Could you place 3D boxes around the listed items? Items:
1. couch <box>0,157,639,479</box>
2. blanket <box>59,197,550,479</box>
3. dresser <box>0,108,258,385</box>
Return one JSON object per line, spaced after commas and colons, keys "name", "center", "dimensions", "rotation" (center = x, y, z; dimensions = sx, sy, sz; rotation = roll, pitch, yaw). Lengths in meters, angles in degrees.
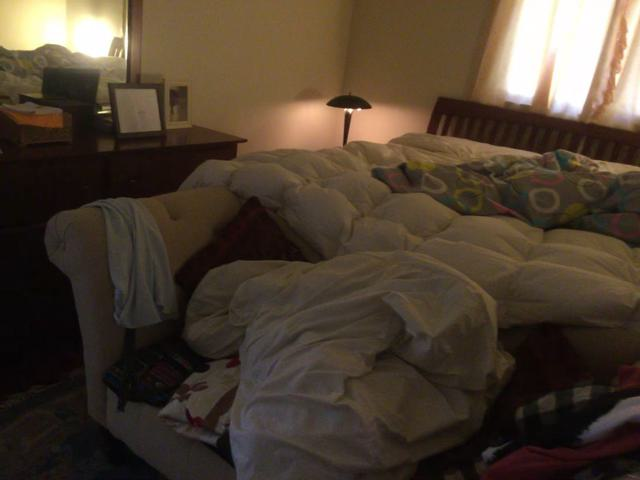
{"name": "couch", "center": [0.060, 0.410, 1.550], "dimensions": [1.930, 0.830, 0.870], "rotation": [18, 22, 30]}
{"name": "blanket", "center": [-0.030, 0.280, 1.520], "dimensions": [0.950, 0.470, 0.790], "rotation": [18, 22, 30]}
{"name": "dresser", "center": [-1.060, -0.070, 2.520], "dimensions": [0.580, 0.870, 1.670], "rotation": [18, 22, 30]}
